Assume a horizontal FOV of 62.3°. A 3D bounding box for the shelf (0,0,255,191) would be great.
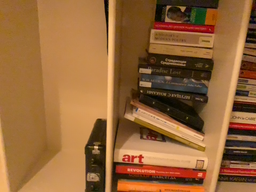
[{"bbox_3d":[0.470,0.010,0.740,0.330,2.420,0.760,-85,-2,-72],"label":"shelf"}]
